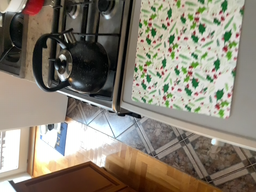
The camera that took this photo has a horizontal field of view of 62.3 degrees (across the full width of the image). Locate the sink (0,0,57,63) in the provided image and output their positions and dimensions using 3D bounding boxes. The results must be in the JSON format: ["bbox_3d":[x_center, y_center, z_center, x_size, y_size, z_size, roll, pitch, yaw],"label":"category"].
[{"bbox_3d":[-0.680,-0.470,1.390,0.400,0.210,0.440,15,101,40],"label":"sink"}]
